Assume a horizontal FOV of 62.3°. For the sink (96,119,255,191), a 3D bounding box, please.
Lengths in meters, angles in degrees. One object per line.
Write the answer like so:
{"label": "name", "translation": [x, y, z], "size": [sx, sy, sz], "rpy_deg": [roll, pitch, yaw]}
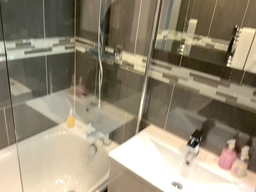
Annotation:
{"label": "sink", "translation": [0.230, 0.400, 1.070], "size": [0.650, 0.200, 0.420], "rpy_deg": [22, 28, 30]}
